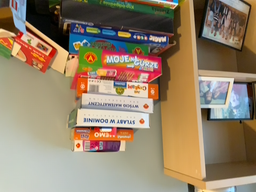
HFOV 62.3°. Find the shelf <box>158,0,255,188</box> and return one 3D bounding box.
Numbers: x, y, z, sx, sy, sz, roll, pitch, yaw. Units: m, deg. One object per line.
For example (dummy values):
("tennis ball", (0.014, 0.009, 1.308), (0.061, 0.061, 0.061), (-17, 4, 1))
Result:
("shelf", (0.600, -0.230, 1.000), (0.880, 1.110, 0.240), (2, 172, -19))
